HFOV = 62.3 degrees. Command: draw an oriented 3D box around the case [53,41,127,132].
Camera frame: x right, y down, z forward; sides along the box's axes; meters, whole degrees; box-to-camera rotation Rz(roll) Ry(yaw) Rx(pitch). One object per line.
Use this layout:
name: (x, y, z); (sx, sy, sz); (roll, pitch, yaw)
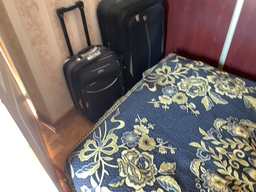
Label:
case: (-0.240, -0.070, 1.550); (0.290, 0.480, 0.370); (27, 51, 27)
